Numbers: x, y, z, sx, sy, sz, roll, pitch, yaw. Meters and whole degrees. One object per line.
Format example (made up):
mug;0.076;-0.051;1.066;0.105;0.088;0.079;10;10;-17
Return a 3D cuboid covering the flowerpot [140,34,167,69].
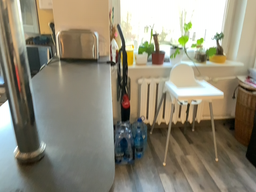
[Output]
flowerpot;0.280;-0.510;2.410;0.240;0.350;0.200;-1;22;-6

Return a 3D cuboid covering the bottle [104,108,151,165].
bottle;-0.030;0.410;2.330;0.440;0.330;0.610;-1;22;-5

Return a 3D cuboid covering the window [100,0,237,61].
window;0.460;-1.130;2.360;1.540;1.440;0.170;-2;22;-8
